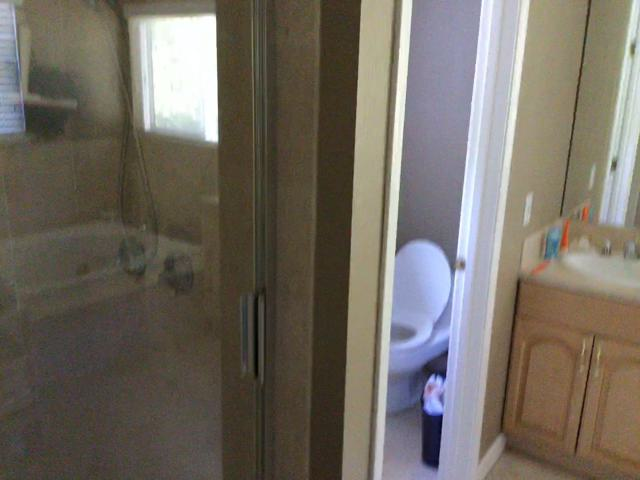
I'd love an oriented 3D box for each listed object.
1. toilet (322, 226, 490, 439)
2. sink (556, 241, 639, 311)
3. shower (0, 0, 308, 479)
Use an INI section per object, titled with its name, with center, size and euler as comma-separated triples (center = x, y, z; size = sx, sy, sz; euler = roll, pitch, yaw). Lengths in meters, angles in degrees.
[toilet]
center = 0.430, 0.400, 2.860
size = 0.490, 0.770, 0.700
euler = 12, 17, 37
[sink]
center = 1.220, 0.140, 2.280
size = 0.420, 0.140, 0.400
euler = 12, 17, 37
[shower]
center = -0.690, 0.240, 1.270
size = 0.890, 1.950, 0.970
euler = 12, 17, 38
